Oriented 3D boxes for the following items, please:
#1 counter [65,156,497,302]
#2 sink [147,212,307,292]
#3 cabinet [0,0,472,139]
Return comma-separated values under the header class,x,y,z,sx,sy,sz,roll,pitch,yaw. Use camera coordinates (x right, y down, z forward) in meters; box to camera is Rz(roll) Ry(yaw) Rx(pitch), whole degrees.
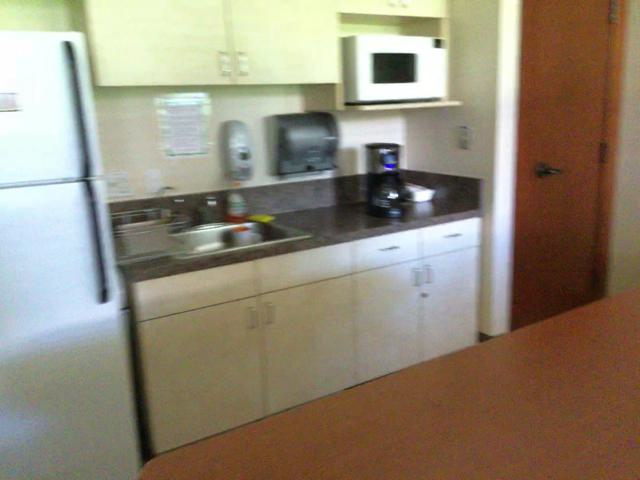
class,x,y,z,sx,sy,sz,roll,pitch,yaw
counter,-0.110,-0.140,2.720,1.910,0.310,0.660,-10,16,-28
sink,-0.420,0.030,2.540,0.520,0.160,0.550,-10,16,-28
cabinet,-0.510,-0.880,2.340,2.600,0.810,0.440,-10,16,-28
